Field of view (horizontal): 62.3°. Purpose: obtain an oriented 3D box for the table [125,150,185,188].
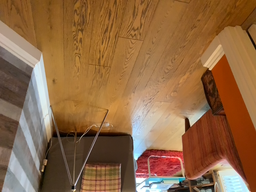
[{"bbox_3d":[0.380,1.240,3.470,0.600,0.330,1.080,6,146,-14],"label":"table"}]
